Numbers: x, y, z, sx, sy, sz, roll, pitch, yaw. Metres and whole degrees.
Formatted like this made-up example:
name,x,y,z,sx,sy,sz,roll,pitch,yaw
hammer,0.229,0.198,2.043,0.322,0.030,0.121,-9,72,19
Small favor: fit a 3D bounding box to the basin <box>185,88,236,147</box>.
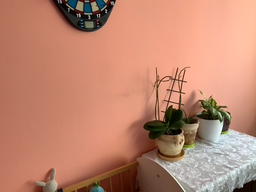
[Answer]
name,x,y,z,sx,sy,sz,roll,pitch,yaw
basin,0.680,0.160,1.760,0.340,0.370,0.230,-12,16,-32
